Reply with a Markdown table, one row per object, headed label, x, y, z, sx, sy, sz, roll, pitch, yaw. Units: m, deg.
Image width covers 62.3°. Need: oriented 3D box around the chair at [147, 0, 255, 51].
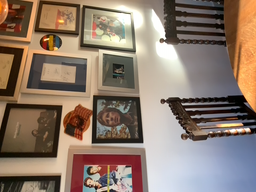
| label | x | y | z | sx | sy | sz | roll | pitch | yaw |
| --- | --- | --- | --- | --- | --- | --- | --- | --- | --- |
| chair | 0.720 | -0.590 | 1.400 | 0.530 | 1.050 | 0.440 | -159 | 72 | -77 |
